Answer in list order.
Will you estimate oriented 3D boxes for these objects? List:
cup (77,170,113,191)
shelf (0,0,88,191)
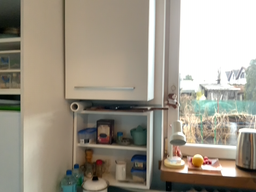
[{"bbox_3d":[-0.190,0.560,1.260,0.150,0.150,0.190,2,3,15],"label":"cup"},{"bbox_3d":[-0.690,-0.070,1.320,0.650,1.300,0.670,2,3,13],"label":"shelf"}]
